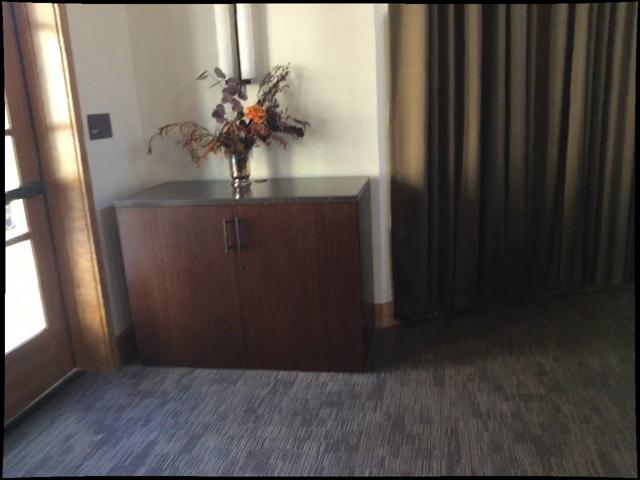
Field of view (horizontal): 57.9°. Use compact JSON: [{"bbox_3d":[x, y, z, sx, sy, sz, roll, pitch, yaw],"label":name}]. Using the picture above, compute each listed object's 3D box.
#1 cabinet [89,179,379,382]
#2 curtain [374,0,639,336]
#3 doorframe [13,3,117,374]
[{"bbox_3d":[-0.390,0.170,3.070,1.369,0.921,0.580,0,12,9],"label":"cabinet"},{"bbox_3d":[2.398,-0.470,3.040,4.166,1.832,0.710,0,12,9],"label":"curtain"},{"bbox_3d":[-1.239,-0.200,2.850,0.280,1.792,0.090,0,12,9],"label":"doorframe"}]
